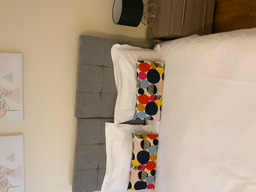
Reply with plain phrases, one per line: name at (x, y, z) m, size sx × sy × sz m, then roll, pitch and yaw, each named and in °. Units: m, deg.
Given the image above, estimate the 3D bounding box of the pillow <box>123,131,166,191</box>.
pillow at (0.150, 0.680, 2.090) m, size 0.220 × 0.330 × 0.610 m, roll -138°, pitch 52°, yaw -81°

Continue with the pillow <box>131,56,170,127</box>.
pillow at (0.200, -0.040, 1.970) m, size 0.170 × 0.280 × 0.620 m, roll -132°, pitch 46°, yaw -79°

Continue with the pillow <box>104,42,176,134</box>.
pillow at (0.100, -0.080, 2.090) m, size 0.210 × 0.600 × 0.820 m, roll -97°, pitch 12°, yaw -82°
